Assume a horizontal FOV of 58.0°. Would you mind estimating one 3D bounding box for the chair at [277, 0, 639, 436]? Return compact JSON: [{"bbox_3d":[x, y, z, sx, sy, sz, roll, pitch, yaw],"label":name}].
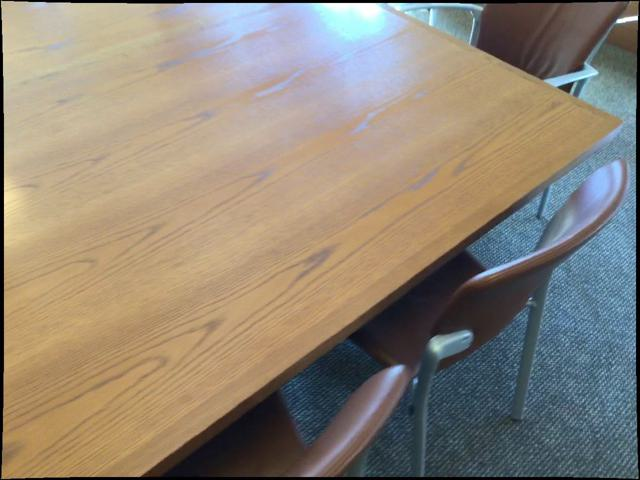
[{"bbox_3d":[0.289,-0.080,1.310,0.549,0.651,0.610,-21,51,-20],"label":"chair"}]
